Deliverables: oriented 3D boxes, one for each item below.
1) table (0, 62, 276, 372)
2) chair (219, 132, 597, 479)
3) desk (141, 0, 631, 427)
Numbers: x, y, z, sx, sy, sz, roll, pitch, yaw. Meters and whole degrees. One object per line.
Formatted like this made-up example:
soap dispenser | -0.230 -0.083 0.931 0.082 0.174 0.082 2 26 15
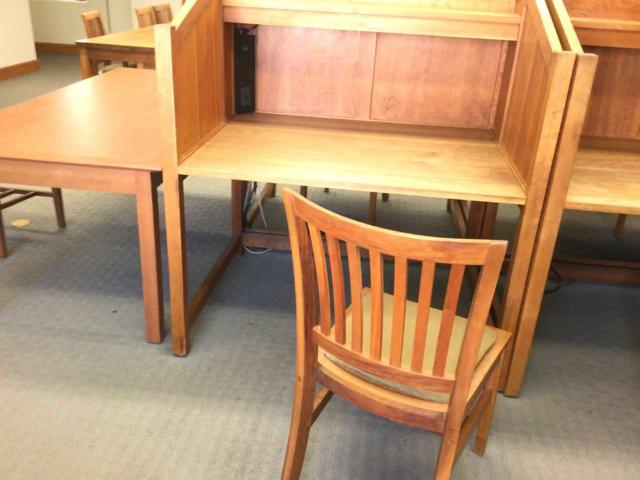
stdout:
table | -0.900 -0.270 2.710 1.000 0.810 1.580 9 24 6
chair | 0.210 0.290 1.530 0.710 0.930 0.600 15 25 18
desk | 0.160 -0.310 2.270 1.320 1.480 1.010 9 24 6
